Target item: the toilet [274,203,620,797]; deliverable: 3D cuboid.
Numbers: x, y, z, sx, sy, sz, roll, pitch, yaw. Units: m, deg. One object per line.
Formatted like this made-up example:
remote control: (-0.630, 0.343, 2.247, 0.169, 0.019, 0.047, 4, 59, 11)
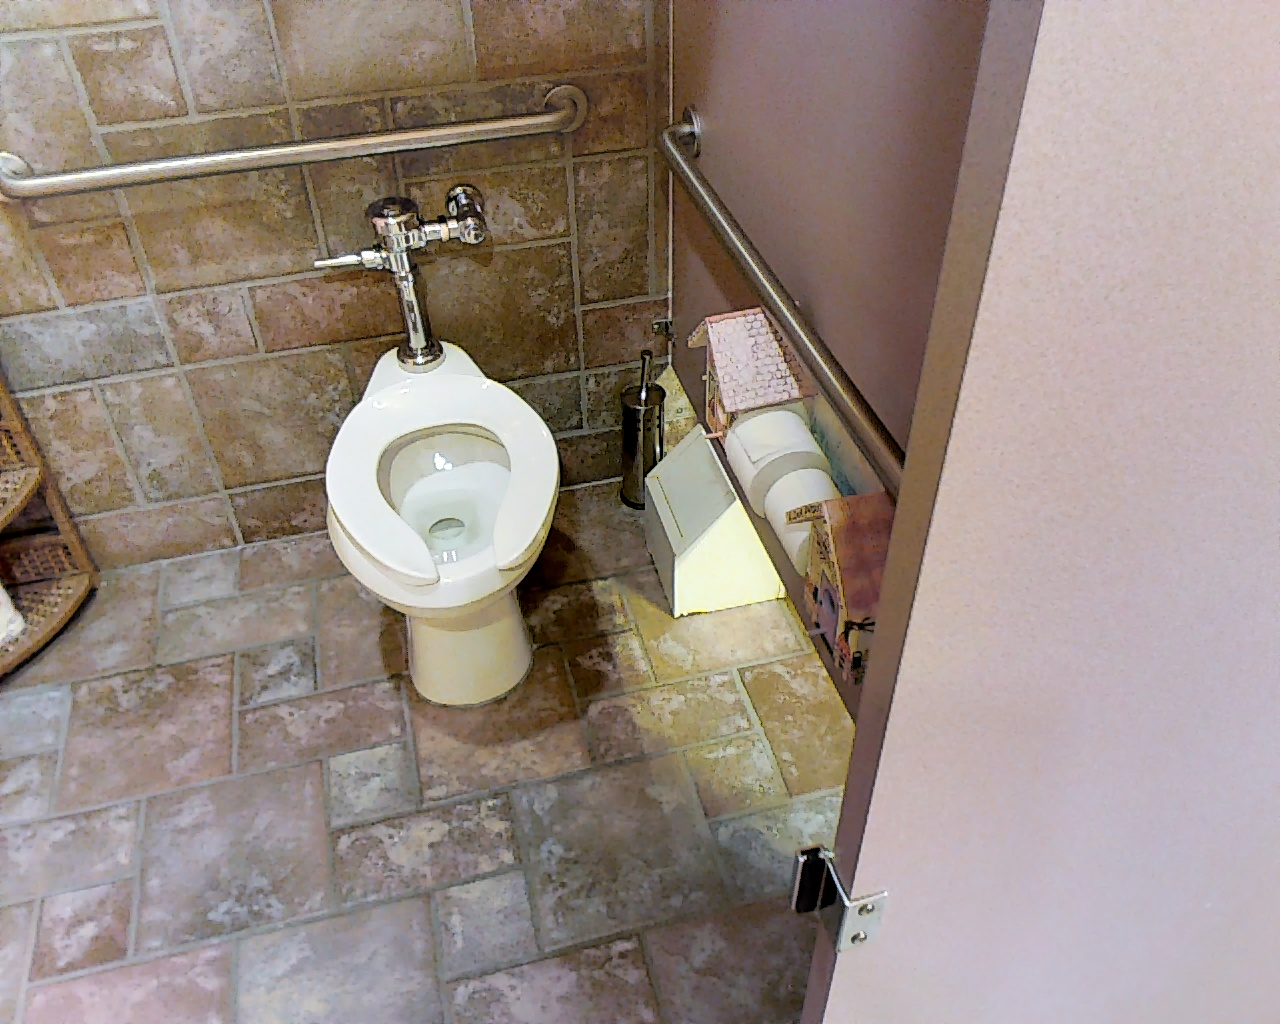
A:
toilet: (-0.340, -0.040, 1.910, 0.430, 0.700, 0.710, -11, 42, -11)
